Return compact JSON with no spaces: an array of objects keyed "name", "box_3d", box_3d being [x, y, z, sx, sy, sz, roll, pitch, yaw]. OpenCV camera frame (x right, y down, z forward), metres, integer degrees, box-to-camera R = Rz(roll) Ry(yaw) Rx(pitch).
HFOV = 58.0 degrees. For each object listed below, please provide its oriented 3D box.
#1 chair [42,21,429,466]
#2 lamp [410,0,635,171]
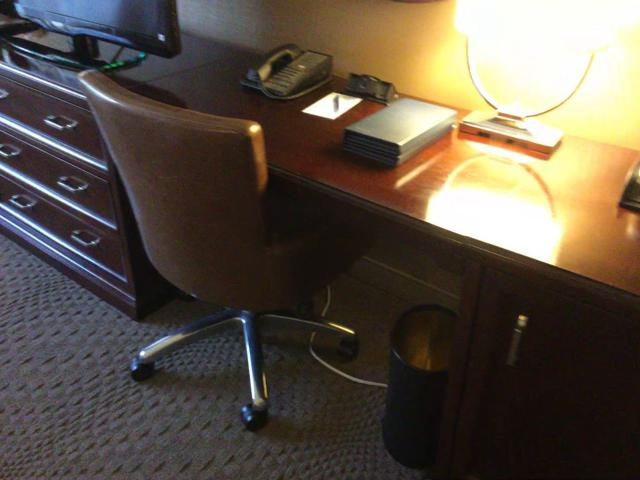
[{"name":"chair","box_3d":[-0.200,-0.030,1.620,0.660,0.890,0.630,22,38,22]},{"name":"lamp","box_3d":[0.470,-0.460,1.300,0.350,0.420,0.360,22,38,22]}]
